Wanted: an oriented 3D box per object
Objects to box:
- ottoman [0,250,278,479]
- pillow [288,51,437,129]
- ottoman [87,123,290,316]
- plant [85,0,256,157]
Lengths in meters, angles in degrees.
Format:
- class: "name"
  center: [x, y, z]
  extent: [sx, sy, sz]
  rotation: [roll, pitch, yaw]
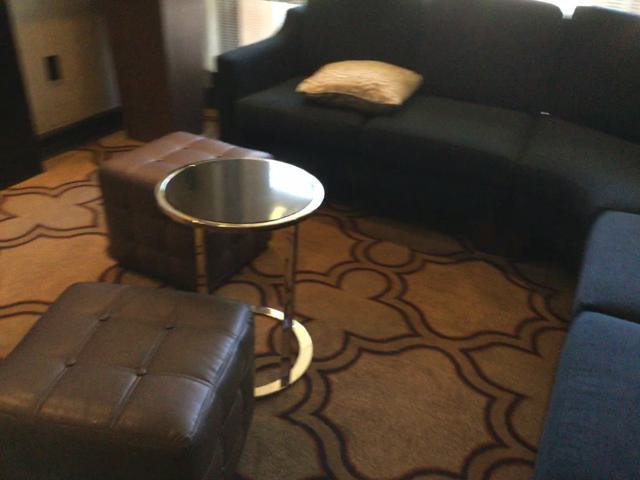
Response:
- class: "ottoman"
  center: [-0.420, 0.390, 1.370]
  extent: [0.510, 0.460, 0.540]
  rotation: [9, 29, 7]
- class: "pillow"
  center: [0.210, -0.730, 2.740]
  extent: [0.530, 0.170, 0.520]
  rotation: [17, 31, 21]
- class: "ottoman"
  center: [-0.480, -0.110, 2.240]
  extent: [0.520, 0.470, 0.520]
  rotation: [17, 31, 21]
- class: "plant"
  center: [-0.810, -1.280, 3.230]
  extent: [0.630, 1.380, 0.680]
  rotation: [17, 31, 21]
